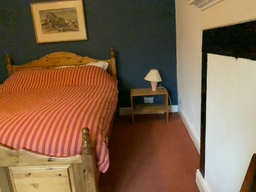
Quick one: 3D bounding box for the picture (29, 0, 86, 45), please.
[{"bbox_3d":[-1.030,-1.070,3.120,0.770,0.570,0.010,-3,14,3],"label":"picture"}]
